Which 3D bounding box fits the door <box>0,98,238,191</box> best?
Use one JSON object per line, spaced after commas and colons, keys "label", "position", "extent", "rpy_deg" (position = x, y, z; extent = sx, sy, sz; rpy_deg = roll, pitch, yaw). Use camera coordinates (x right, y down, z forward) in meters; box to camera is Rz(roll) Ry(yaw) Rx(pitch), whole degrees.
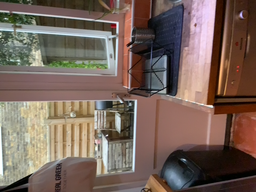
{"label": "door", "position": [0.020, 0.360, 1.660], "extent": [0.040, 2.030, 0.680], "rpy_deg": [-159, 70, -70]}

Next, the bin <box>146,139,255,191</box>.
{"label": "bin", "position": [0.610, 0.580, 1.650], "extent": [0.530, 0.780, 0.280], "rpy_deg": [-158, 69, -70]}
